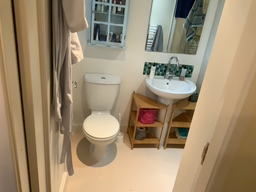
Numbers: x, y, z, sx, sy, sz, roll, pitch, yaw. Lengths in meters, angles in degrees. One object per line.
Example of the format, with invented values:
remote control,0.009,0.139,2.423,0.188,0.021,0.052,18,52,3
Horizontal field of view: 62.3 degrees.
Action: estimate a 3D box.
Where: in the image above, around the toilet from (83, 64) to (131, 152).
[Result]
toilet,-0.280,0.120,2.400,0.390,0.770,0.610,2,26,-14
